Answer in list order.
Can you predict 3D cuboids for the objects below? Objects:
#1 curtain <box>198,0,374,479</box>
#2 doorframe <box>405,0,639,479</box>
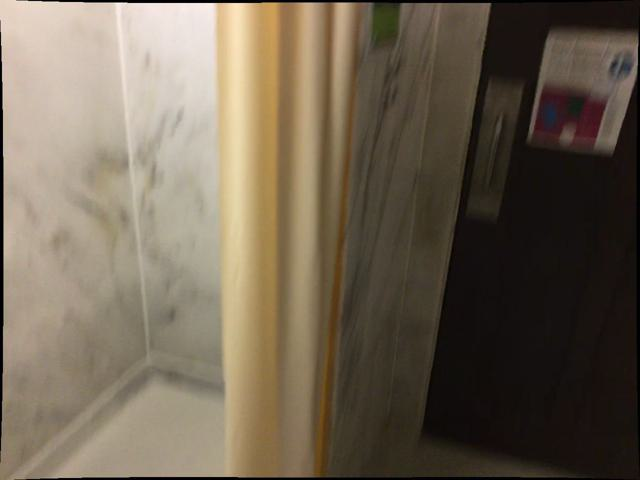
[{"bbox_3d":[-0.080,-0.050,1.010,0.240,1.911,0.190,-1,25,-11],"label":"curtain"},{"bbox_3d":[0.759,-0.130,1.510,0.829,2.001,0.080,11,26,15],"label":"doorframe"}]
